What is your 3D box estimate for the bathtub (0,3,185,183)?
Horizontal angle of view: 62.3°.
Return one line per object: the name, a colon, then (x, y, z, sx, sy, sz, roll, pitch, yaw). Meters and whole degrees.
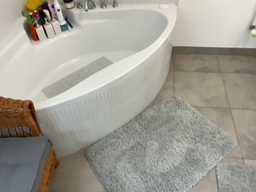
bathtub: (-0.320, -0.170, 1.720, 1.380, 0.530, 1.390, 4, 48, 7)
